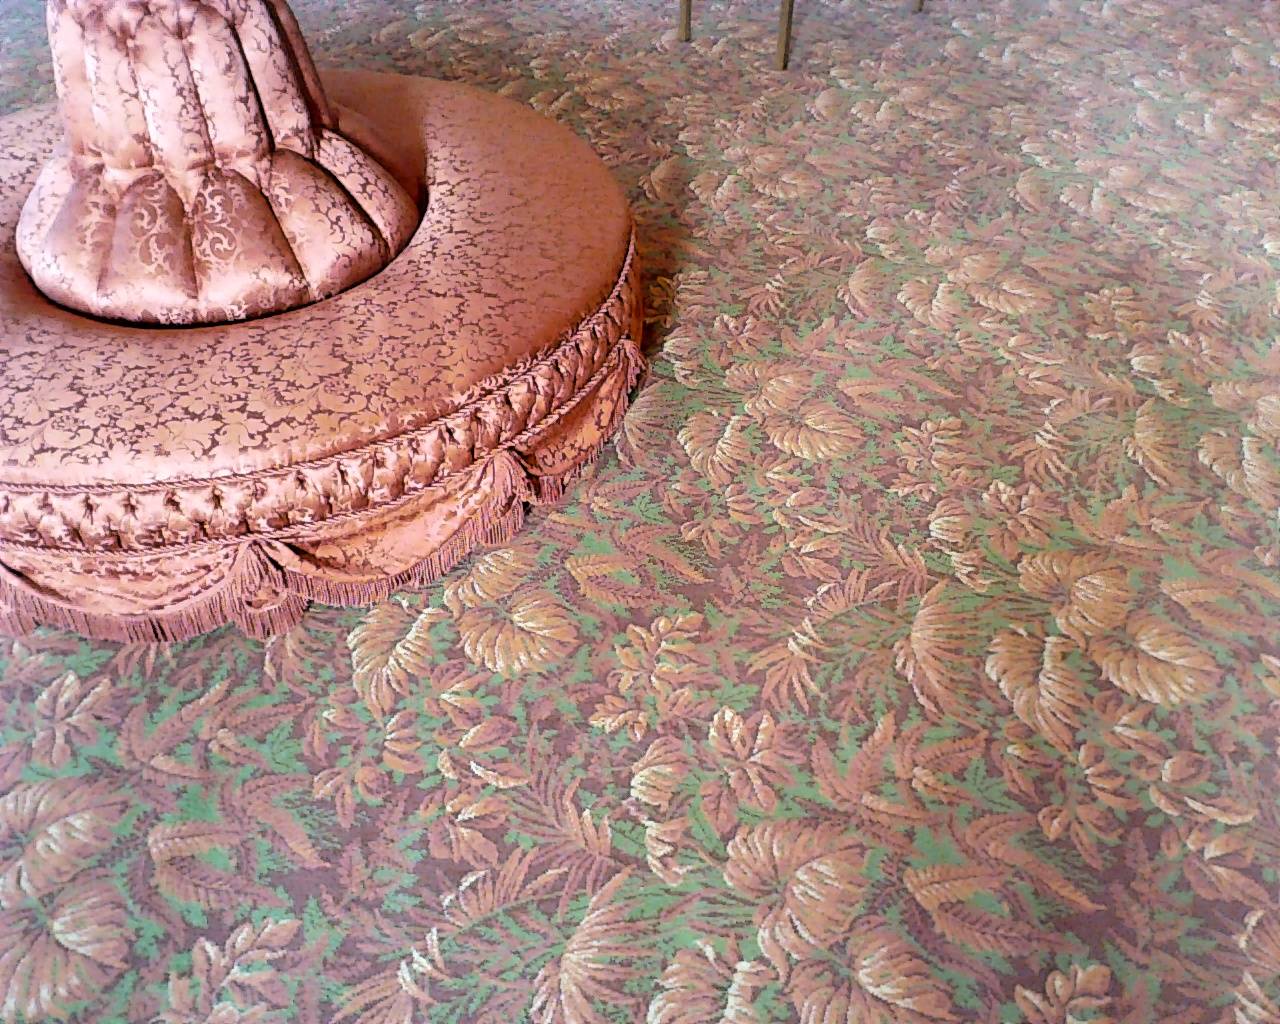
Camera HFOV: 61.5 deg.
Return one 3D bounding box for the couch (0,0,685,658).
[{"bbox_3d":[-0.990,-0.850,2.460,2.140,1.070,2.050,2,42,2],"label":"couch"}]
